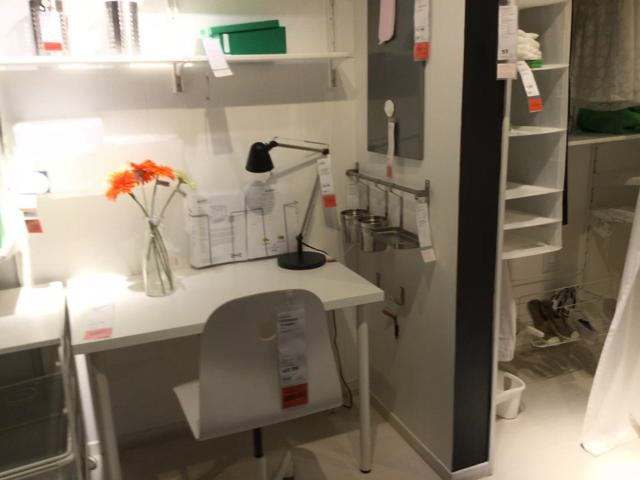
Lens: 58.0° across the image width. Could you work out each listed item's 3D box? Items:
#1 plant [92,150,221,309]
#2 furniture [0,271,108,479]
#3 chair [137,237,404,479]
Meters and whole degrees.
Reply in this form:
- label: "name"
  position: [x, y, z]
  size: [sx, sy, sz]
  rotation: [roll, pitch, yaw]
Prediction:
- label: "plant"
  position: [-0.580, -0.060, 2.040]
  size: [0.350, 0.460, 0.380]
  rotation: [-8, 14, -18]
- label: "furniture"
  position: [-1.040, 0.590, 1.900]
  size: [0.550, 0.760, 0.670]
  rotation: [-8, 14, -18]
- label: "chair"
  position: [-0.170, 0.530, 1.780]
  size: [0.620, 0.900, 0.630]
  rotation: [-8, 14, -19]
